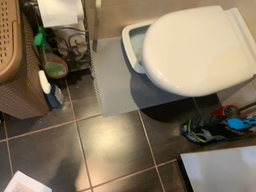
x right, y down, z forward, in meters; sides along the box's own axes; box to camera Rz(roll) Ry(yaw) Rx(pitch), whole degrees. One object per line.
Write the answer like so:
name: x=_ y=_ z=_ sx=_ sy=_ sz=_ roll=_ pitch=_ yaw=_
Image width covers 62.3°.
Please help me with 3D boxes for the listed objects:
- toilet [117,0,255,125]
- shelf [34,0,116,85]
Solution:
toilet: x=0.260 y=-0.140 z=1.040 sx=0.500 sy=0.440 sz=0.370 roll=-15 pitch=76 yaw=-13
shelf: x=-0.220 y=-0.290 z=0.890 sx=0.220 sy=0.590 sz=0.260 roll=-15 pitch=76 yaw=-13
